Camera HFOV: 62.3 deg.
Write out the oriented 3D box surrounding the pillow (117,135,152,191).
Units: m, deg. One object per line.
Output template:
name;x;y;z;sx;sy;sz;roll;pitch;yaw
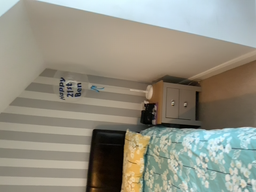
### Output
pillow;0.050;0.710;2.060;0.390;0.200;0.640;146;129;-70
